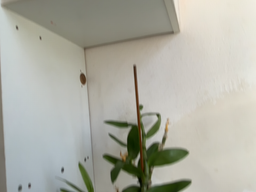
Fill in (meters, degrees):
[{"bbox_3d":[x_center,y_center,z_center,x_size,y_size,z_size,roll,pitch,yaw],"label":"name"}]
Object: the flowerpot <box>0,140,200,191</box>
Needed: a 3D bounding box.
[{"bbox_3d":[-0.010,0.280,0.440,0.280,0.320,0.340,-5,-4,23],"label":"flowerpot"}]
